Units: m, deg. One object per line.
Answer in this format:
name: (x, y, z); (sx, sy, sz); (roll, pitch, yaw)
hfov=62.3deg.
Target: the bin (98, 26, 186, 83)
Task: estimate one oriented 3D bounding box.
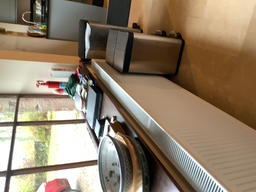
bin: (0.090, -0.390, 1.930); (0.620, 0.530, 0.310); (-131, 48, -55)
